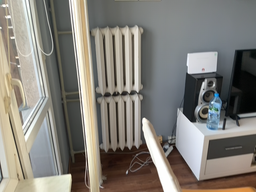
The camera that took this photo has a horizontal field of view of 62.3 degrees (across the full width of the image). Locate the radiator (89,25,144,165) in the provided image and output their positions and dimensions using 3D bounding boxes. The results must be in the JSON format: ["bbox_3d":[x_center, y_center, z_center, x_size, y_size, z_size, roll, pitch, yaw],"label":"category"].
[{"bbox_3d":[-0.090,0.030,2.000,0.440,1.310,0.170,-4,21,-8],"label":"radiator"}]

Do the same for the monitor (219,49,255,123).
[{"bbox_3d":[1.290,-0.100,1.850,0.960,0.620,0.060,-5,21,-9],"label":"monitor"}]
